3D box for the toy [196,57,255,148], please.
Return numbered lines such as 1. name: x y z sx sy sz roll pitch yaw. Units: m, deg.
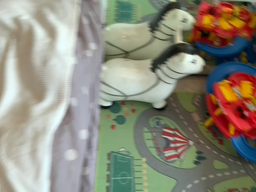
1. toy: 0.720 0.040 1.310 0.430 0.260 0.490 2 59 -4
